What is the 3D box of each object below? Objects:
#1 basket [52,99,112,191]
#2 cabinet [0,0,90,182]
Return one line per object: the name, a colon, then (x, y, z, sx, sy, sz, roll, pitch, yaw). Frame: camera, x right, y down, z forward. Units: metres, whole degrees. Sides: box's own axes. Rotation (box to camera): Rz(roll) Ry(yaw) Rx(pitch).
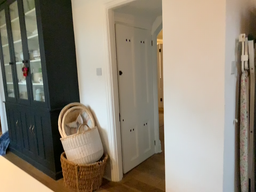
basket: (-0.540, 0.560, 2.510, 0.530, 0.960, 0.400, 4, 10, 41)
cabinet: (-1.340, -0.270, 3.070, 1.650, 2.450, 0.470, 5, 10, 41)
